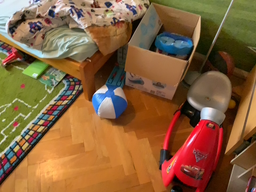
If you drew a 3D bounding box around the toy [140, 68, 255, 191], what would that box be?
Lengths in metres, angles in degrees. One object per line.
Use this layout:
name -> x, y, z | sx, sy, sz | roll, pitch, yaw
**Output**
toy -> 0.390, 0.240, 1.210 | 0.360, 0.470, 0.550 | 29, 56, 15
